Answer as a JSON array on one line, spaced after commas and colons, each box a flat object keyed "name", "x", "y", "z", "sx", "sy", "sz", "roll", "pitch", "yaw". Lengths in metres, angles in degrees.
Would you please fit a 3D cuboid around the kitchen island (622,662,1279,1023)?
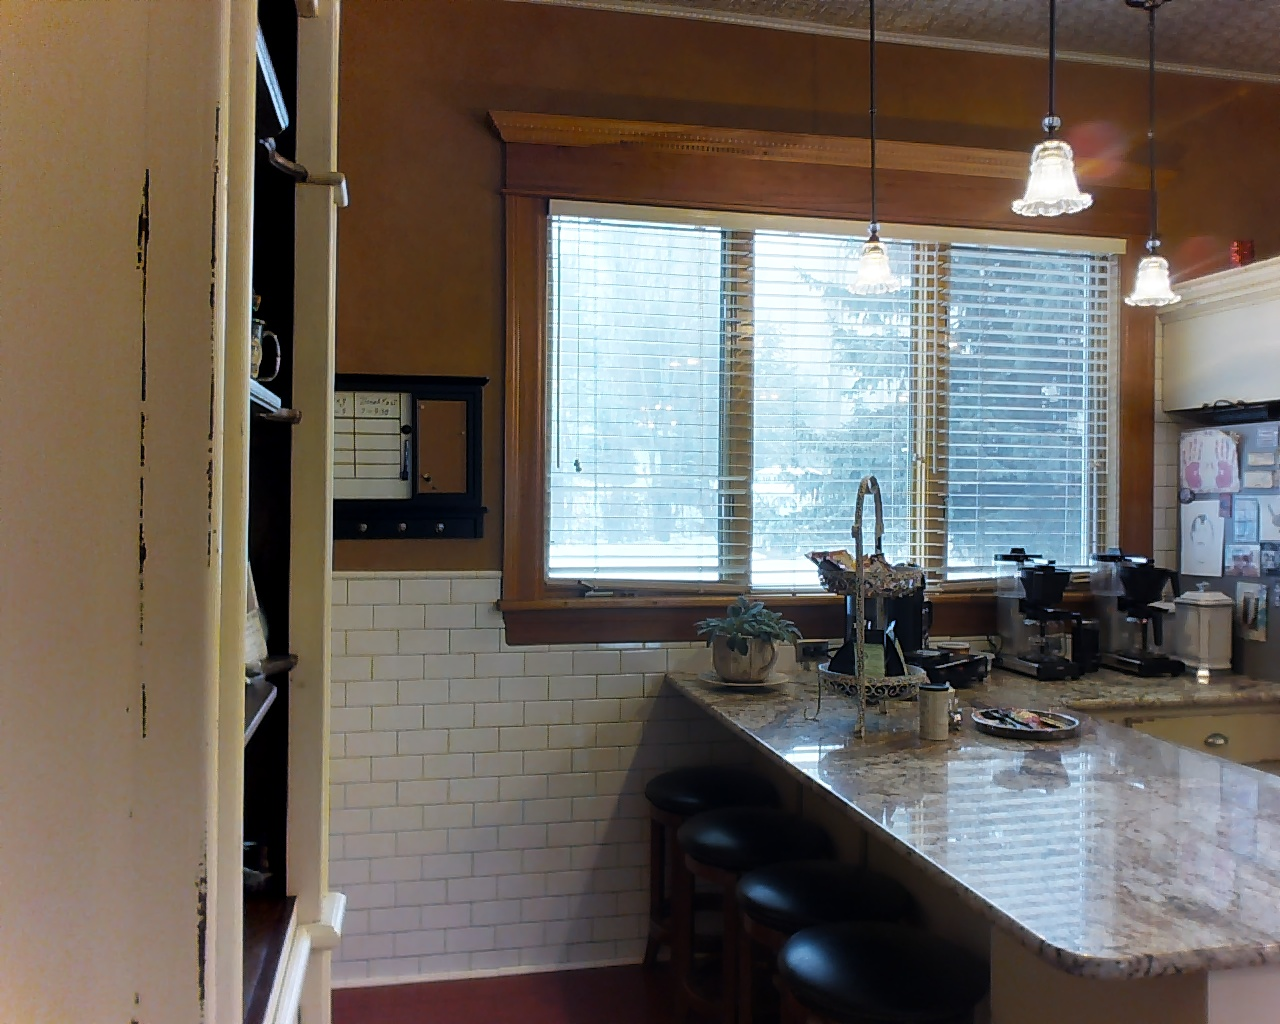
[{"name": "kitchen island", "x": 1.140, "y": 1.020, "z": 2.580, "sx": 1.929, "sy": 0.960, "sz": 2.230, "roll": 0, "pitch": 0, "yaw": -13}]

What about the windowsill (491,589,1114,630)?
[{"name": "windowsill", "x": 0.600, "y": 0.320, "z": 3.590, "sx": 2.169, "sy": 0.100, "sz": 0.100, "roll": 0, "pitch": 0, "yaw": -13}]
